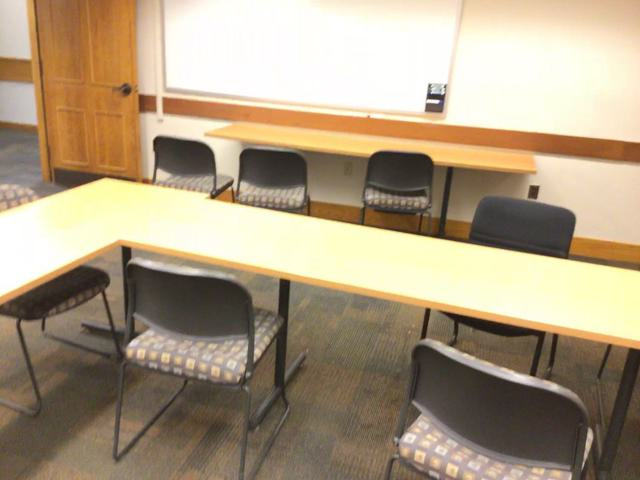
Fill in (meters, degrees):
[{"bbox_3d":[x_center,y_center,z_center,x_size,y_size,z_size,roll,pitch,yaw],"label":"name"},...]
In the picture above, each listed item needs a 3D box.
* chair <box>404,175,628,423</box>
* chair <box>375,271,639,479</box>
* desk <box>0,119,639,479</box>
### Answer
[{"bbox_3d":[0.770,0.220,2.510,0.570,0.790,0.650,10,19,-2],"label":"chair"},{"bbox_3d":[0.520,0.540,1.640,0.520,0.650,0.590,16,20,24],"label":"chair"},{"bbox_3d":[-0.150,0.820,0.640,4.000,1.000,3.970,12,19,13],"label":"desk"}]
